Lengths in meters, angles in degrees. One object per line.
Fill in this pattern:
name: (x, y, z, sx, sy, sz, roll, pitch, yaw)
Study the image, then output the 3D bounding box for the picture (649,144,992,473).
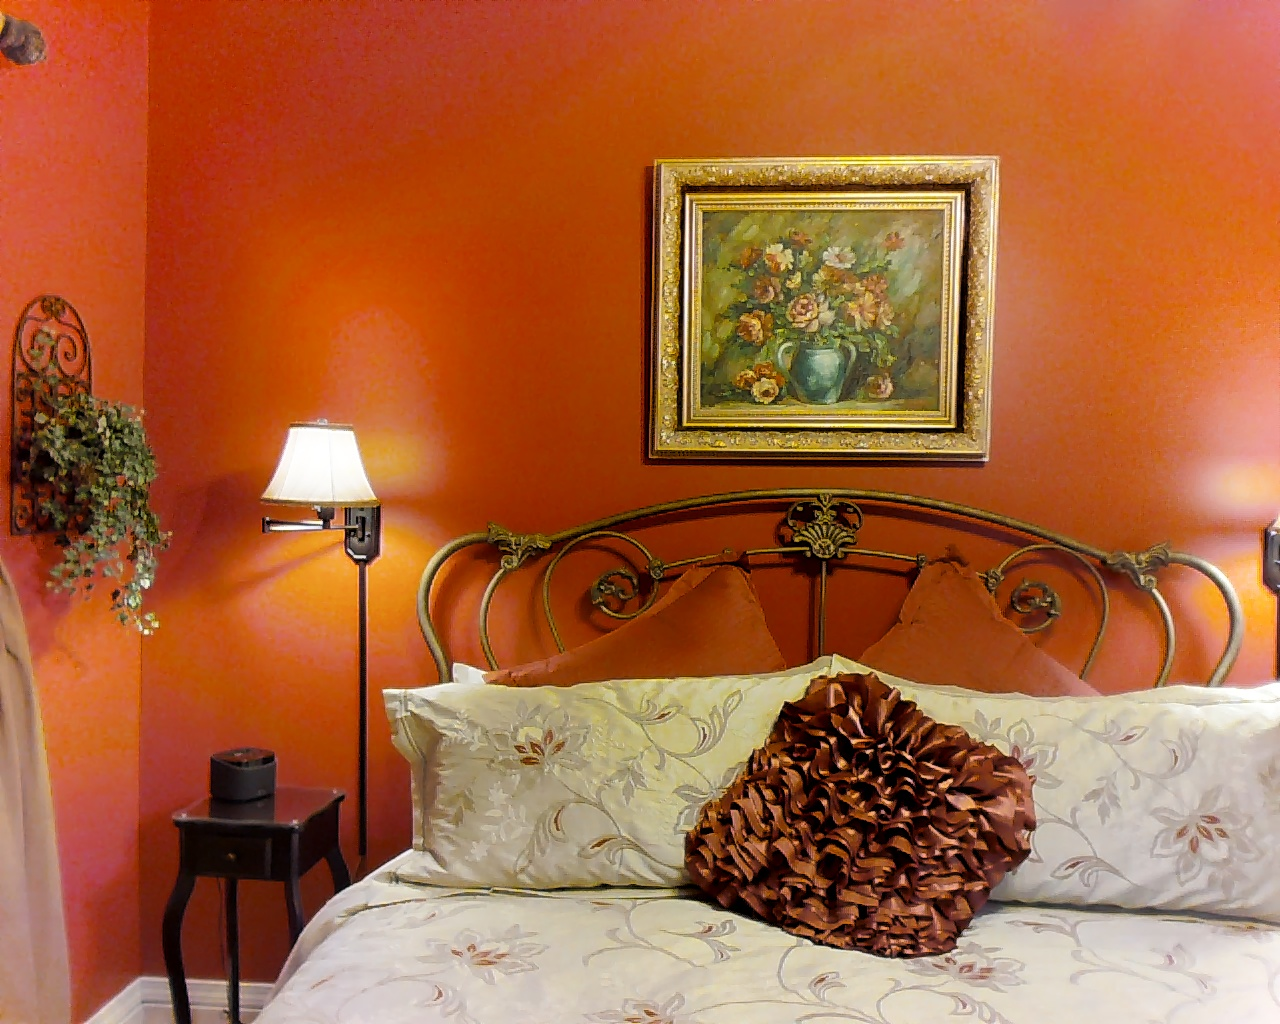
picture: (0.440, -0.500, 2.690, 0.820, 0.790, 0.120, 1, 1, 2)

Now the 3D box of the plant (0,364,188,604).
plant: (-1.230, -0.060, 2.410, 0.210, 0.480, 0.500, 1, 1, 2)

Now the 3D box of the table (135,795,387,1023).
table: (-0.890, 1.130, 2.600, 0.390, 0.740, 0.510, 1, 1, 6)
